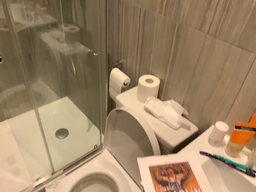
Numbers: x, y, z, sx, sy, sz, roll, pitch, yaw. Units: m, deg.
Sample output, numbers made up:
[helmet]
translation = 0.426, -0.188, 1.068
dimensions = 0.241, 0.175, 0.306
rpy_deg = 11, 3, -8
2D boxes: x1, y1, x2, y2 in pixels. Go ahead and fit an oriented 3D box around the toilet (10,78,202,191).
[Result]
[toilet]
translation = -0.090, 0.440, 1.110
dimensions = 0.650, 0.810, 0.410
rpy_deg = -26, 49, -32
